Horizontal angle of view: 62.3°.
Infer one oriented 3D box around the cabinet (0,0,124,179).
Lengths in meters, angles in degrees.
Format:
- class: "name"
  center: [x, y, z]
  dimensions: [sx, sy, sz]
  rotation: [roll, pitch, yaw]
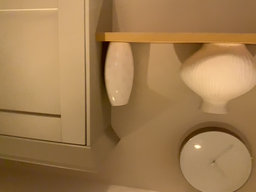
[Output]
- class: "cabinet"
  center: [-0.710, -0.160, 1.170]
  dimensions: [1.290, 0.880, 0.410]
  rotation: [5, -168, 13]
